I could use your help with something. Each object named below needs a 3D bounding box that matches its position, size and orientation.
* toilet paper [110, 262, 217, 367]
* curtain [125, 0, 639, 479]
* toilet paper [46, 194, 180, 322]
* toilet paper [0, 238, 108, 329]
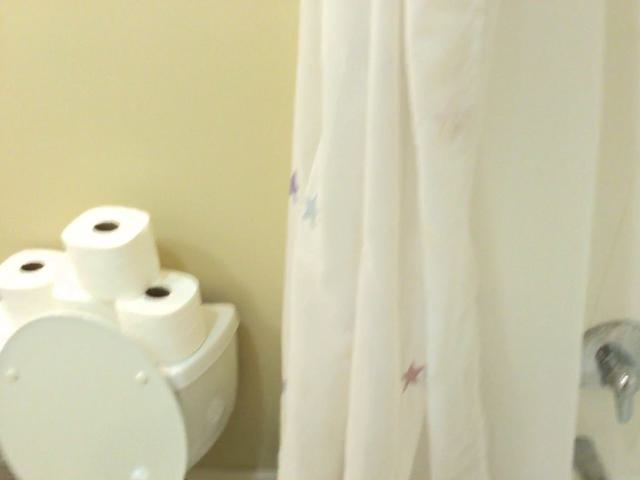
[{"bbox_3d":[-0.270,0.130,1.030,0.140,0.120,0.140,2,31,1],"label":"toilet paper"},{"bbox_3d":[0.180,-0.040,0.670,0.610,2.000,0.400,2,31,1],"label":"curtain"},{"bbox_3d":[-0.350,0.030,1.010,0.160,0.170,0.140,2,31,1],"label":"toilet paper"},{"bbox_3d":[-0.500,0.080,1.090,0.140,0.120,0.120,2,31,1],"label":"toilet paper"}]
